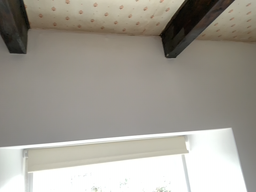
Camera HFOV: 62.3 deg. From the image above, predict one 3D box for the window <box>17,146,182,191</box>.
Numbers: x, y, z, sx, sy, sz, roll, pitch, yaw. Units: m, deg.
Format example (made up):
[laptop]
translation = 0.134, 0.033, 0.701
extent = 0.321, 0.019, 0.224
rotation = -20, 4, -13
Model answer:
[window]
translation = -0.100, 0.890, 1.240
extent = 1.010, 1.080, 0.050
rotation = -1, -17, -17
